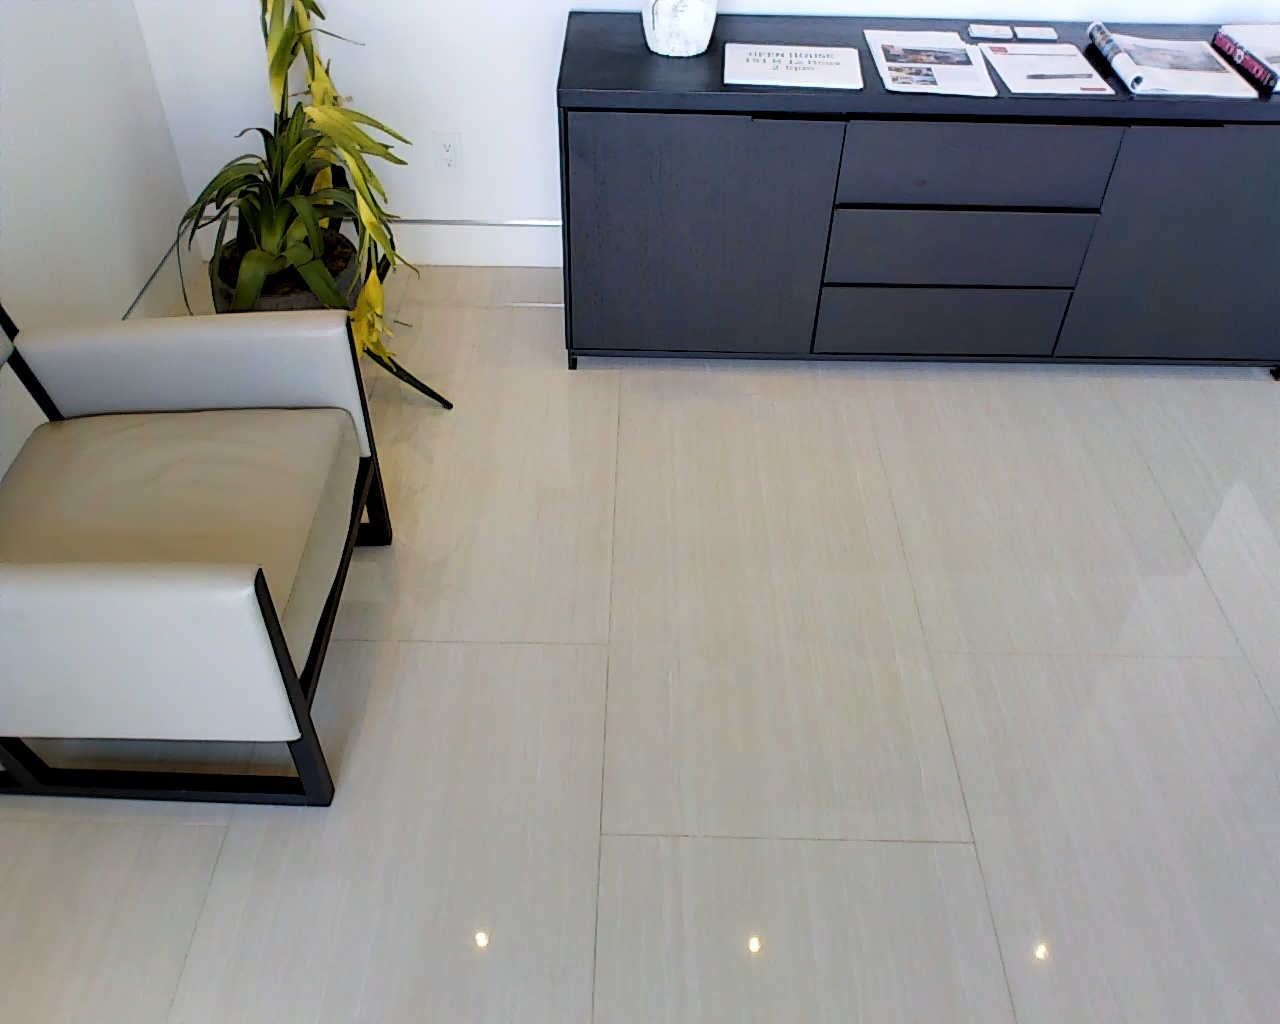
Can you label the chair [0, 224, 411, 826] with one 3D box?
[{"bbox_3d":[-0.880,0.010,1.820,0.770,0.690,0.730,1,42,0],"label":"chair"}]
